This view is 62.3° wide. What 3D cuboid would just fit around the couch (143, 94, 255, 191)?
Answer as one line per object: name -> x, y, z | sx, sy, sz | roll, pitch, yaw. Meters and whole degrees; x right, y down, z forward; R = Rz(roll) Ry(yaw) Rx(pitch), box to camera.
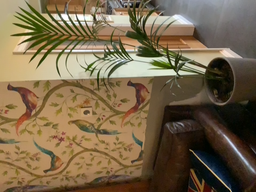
couch -> 0.710, 0.630, 1.740 | 0.870, 0.870, 0.940 | -109, 21, -54
